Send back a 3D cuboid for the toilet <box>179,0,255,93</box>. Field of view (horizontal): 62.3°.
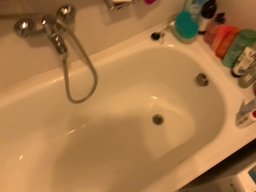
[{"bbox_3d":[0.440,-0.270,0.930,0.120,0.270,0.440,-28,68,-16],"label":"toilet"}]

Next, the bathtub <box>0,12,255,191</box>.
[{"bbox_3d":[-0.130,0.240,1.080,1.470,0.530,0.690,-26,68,-15],"label":"bathtub"}]
